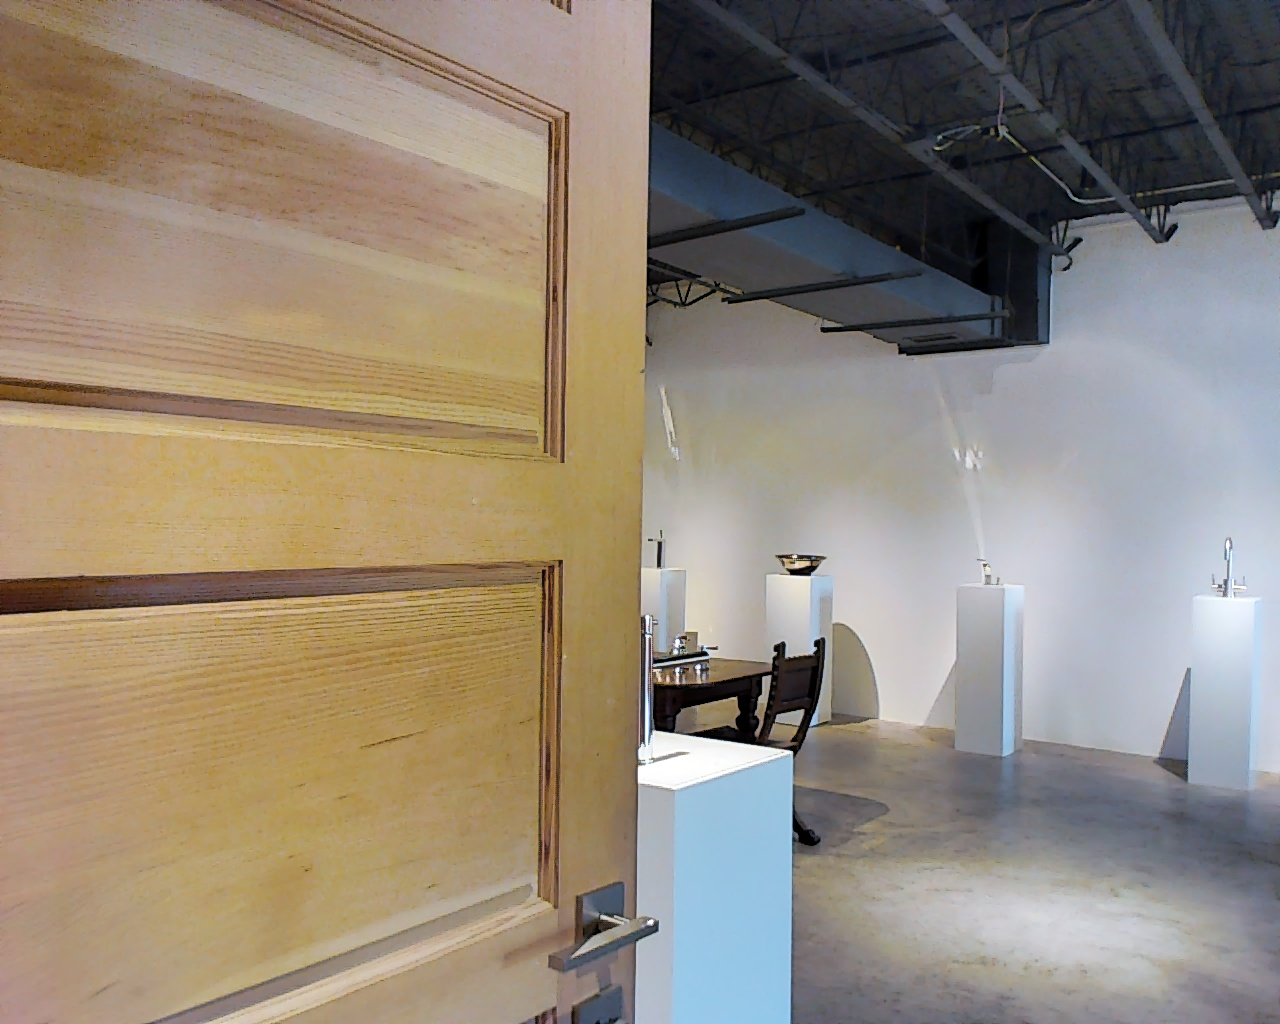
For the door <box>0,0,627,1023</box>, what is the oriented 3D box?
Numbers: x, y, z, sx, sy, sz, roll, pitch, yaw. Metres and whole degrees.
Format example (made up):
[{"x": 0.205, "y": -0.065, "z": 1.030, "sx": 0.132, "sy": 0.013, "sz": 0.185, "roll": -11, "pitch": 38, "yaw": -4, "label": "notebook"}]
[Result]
[{"x": -0.280, "y": 0.260, "z": 0.810, "sx": 0.030, "sy": 2.400, "sz": 0.750, "roll": 1, "pitch": 0, "yaw": 40, "label": "door"}]
